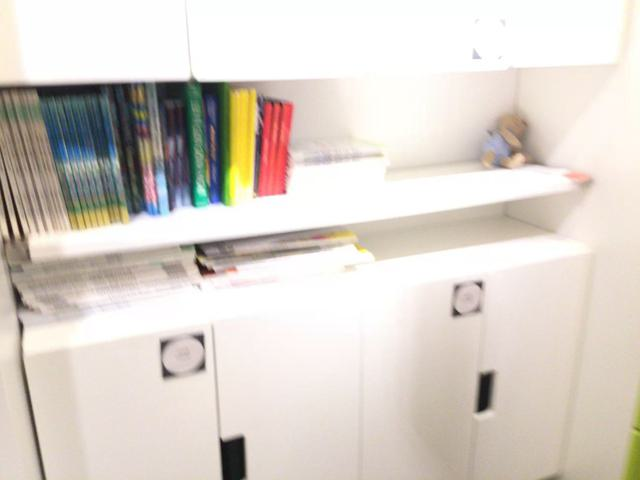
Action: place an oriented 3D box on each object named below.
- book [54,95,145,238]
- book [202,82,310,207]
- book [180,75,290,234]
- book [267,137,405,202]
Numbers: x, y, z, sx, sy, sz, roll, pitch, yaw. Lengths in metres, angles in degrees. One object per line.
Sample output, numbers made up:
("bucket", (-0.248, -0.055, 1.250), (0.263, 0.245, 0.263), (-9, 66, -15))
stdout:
("book", (-0.370, -0.130, 0.980), (0.110, 0.210, 0.140), (-7, 20, -18))
("book", (-0.130, -0.200, 1.170), (0.180, 0.220, 0.140), (-7, 20, -18))
("book", (-0.160, -0.170, 1.060), (0.140, 0.240, 0.250), (-7, 20, -18))
("book", (0.030, -0.160, 1.260), (0.250, 0.090, 0.180), (-7, 20, -18))
